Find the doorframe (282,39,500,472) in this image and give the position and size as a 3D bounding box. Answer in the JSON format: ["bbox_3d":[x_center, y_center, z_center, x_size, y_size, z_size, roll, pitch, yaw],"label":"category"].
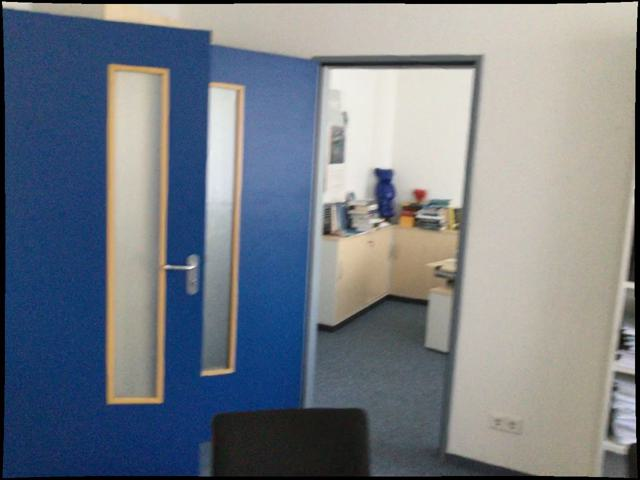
[{"bbox_3d":[0.320,0.060,3.020,0.949,2.082,0.170,8,8,25],"label":"doorframe"}]
